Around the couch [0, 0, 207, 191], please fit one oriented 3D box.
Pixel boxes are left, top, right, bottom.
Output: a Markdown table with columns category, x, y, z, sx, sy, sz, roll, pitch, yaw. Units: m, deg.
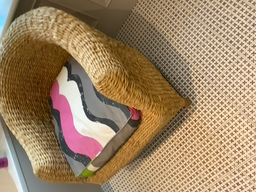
| category | x | y | z | sx | sy | sz | roll | pitch | yaw |
| --- | --- | --- | --- | --- | --- | --- | --- | --- | --- |
| couch | -0.220 | 0.050 | 1.240 | 0.800 | 0.770 | 0.740 | -50 | 60 | 27 |
